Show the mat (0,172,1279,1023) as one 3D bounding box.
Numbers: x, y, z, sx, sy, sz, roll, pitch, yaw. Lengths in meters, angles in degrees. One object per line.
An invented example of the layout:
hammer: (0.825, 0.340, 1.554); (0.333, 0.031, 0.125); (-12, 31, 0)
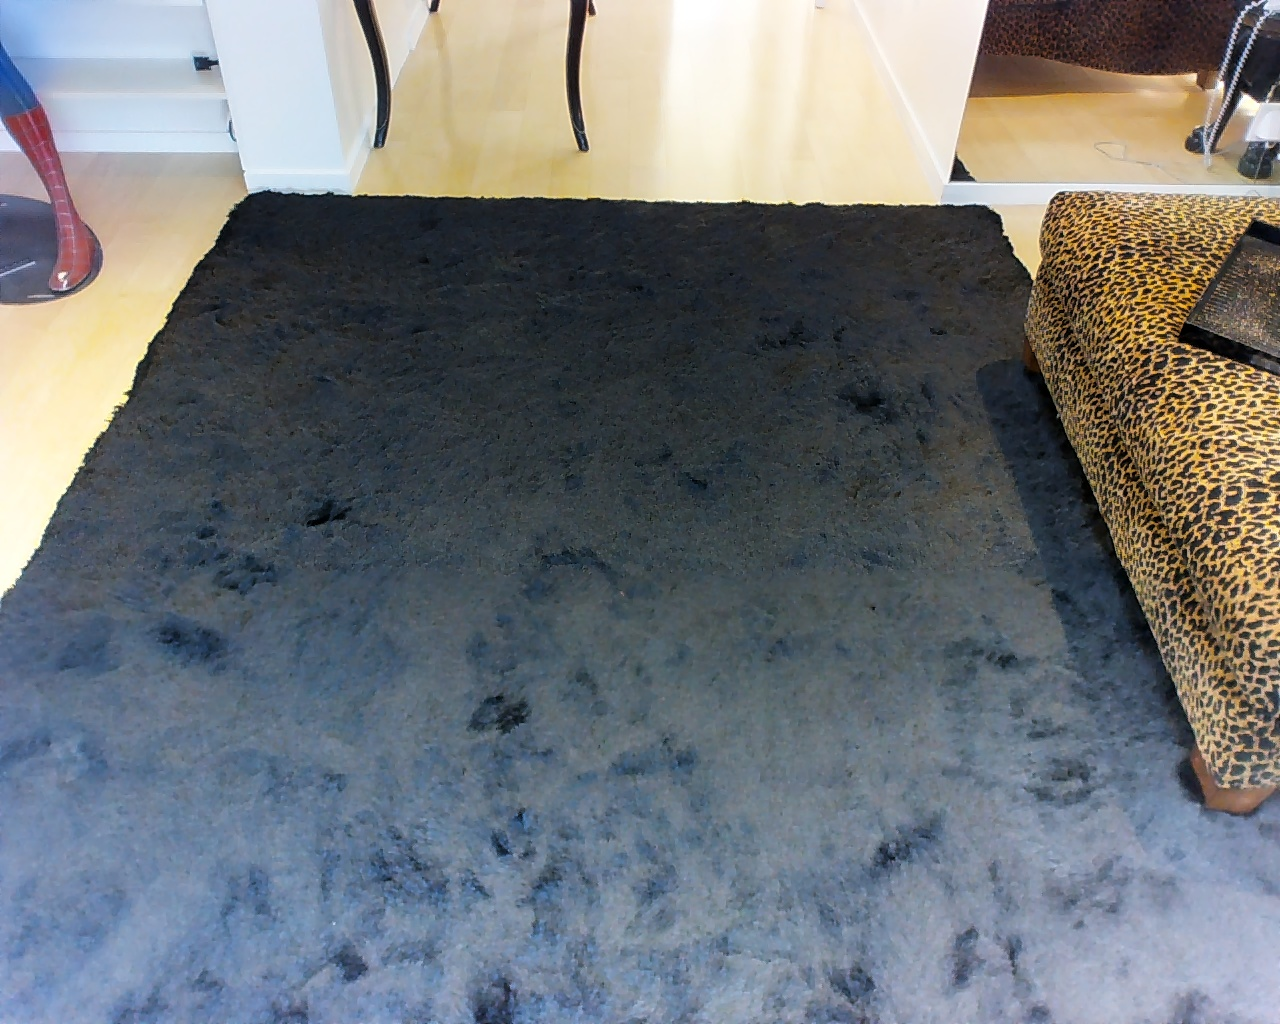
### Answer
mat: (-0.070, 0.980, 1.260); (2.469, 0.080, 6.131); (0, 42, -1)
